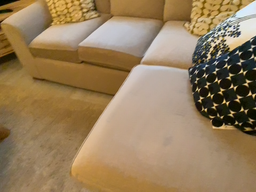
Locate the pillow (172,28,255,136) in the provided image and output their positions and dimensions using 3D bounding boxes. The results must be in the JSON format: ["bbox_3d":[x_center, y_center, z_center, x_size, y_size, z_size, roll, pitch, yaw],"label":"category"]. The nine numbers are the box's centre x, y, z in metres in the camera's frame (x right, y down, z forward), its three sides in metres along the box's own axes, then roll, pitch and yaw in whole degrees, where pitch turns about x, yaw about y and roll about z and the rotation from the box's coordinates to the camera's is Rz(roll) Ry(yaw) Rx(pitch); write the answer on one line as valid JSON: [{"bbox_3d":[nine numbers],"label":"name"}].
[{"bbox_3d":[0.460,-0.080,0.900,0.460,0.220,0.410,-5,43,3],"label":"pillow"}]

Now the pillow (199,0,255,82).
[{"bbox_3d":[0.580,-0.320,1.130,0.270,0.240,0.460,-2,43,6],"label":"pillow"}]
